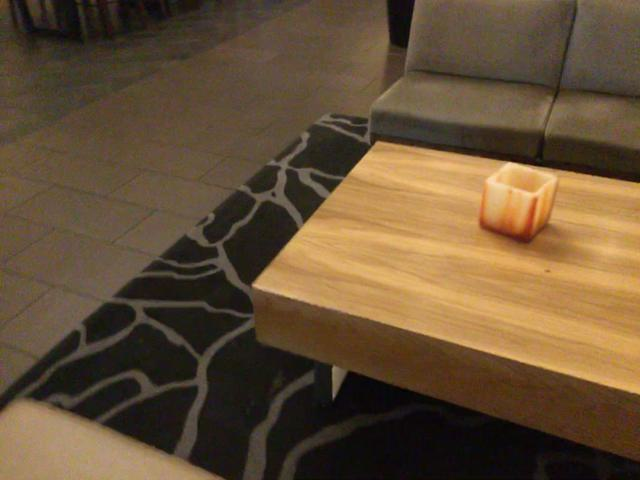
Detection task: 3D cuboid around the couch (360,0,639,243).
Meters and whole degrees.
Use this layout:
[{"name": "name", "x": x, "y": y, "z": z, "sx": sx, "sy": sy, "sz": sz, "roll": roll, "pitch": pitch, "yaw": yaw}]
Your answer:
[{"name": "couch", "x": 1.020, "y": -0.610, "z": 2.460, "sx": 1.510, "sy": 0.840, "sz": 0.720, "roll": 14, "pitch": 35, "yaw": 21}]

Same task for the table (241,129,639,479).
[{"name": "table", "x": 0.610, "y": 0.190, "z": 1.590, "sx": 1.310, "sy": 0.490, "sz": 0.940, "roll": 14, "pitch": 35, "yaw": 21}]
